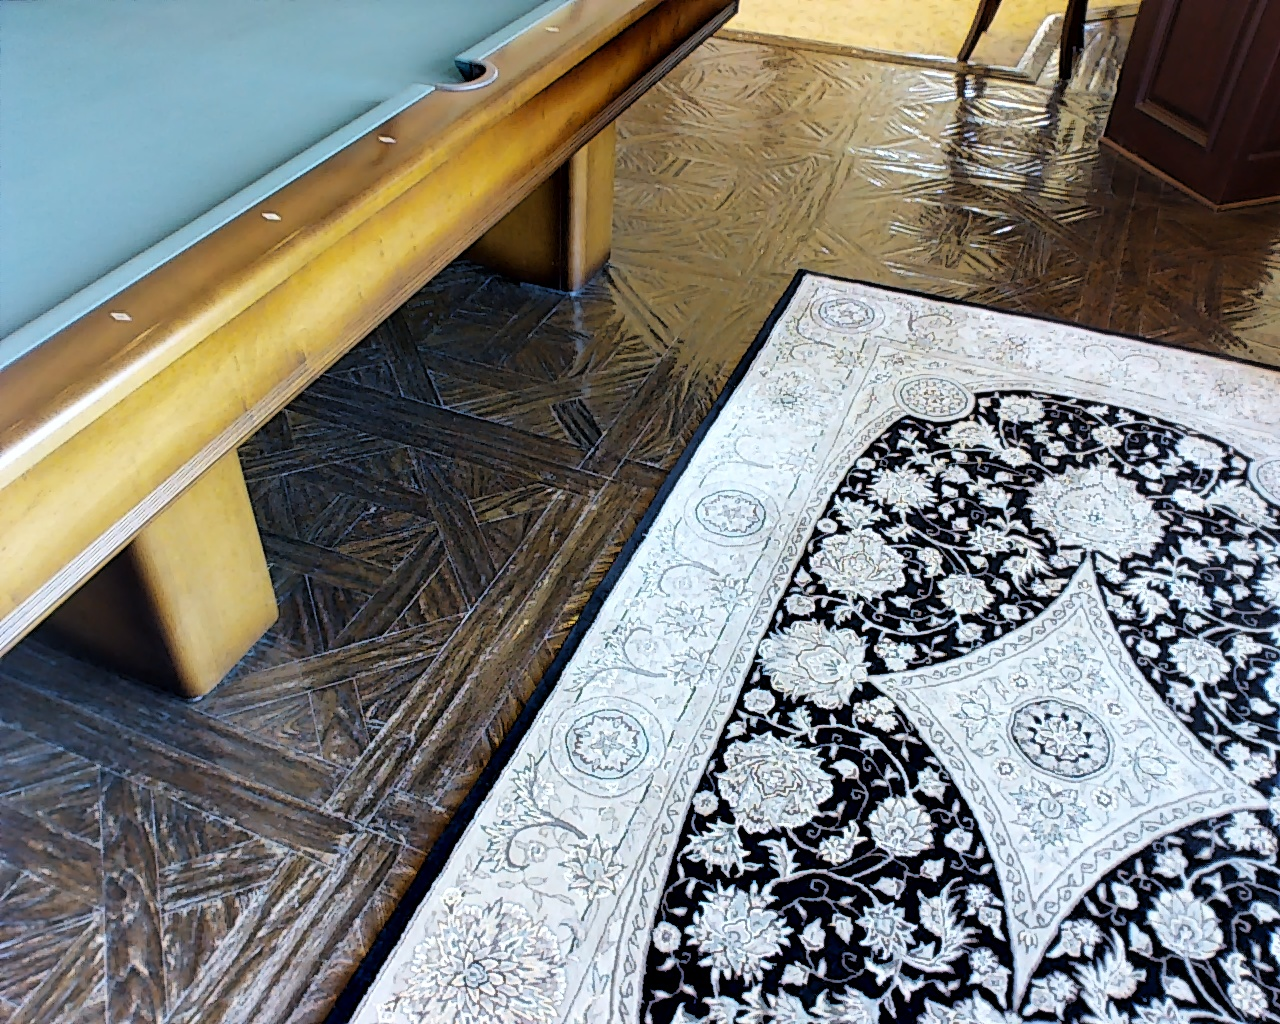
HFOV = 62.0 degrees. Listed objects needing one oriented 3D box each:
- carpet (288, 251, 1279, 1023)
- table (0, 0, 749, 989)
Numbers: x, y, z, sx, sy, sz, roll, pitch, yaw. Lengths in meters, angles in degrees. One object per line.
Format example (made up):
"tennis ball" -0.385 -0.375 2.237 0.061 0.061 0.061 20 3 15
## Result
"carpet" 0.660 0.340 1.780 1.650 0.030 2.770 16 44 17
"table" -0.880 -0.620 2.270 1.450 0.790 2.560 16 44 17
